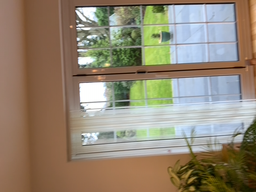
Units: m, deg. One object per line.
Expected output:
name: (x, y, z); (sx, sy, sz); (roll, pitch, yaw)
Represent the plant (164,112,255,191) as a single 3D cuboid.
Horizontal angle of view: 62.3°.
plant: (0.980, 0.580, 1.520); (1.310, 1.090, 0.760); (-173, 80, -85)
